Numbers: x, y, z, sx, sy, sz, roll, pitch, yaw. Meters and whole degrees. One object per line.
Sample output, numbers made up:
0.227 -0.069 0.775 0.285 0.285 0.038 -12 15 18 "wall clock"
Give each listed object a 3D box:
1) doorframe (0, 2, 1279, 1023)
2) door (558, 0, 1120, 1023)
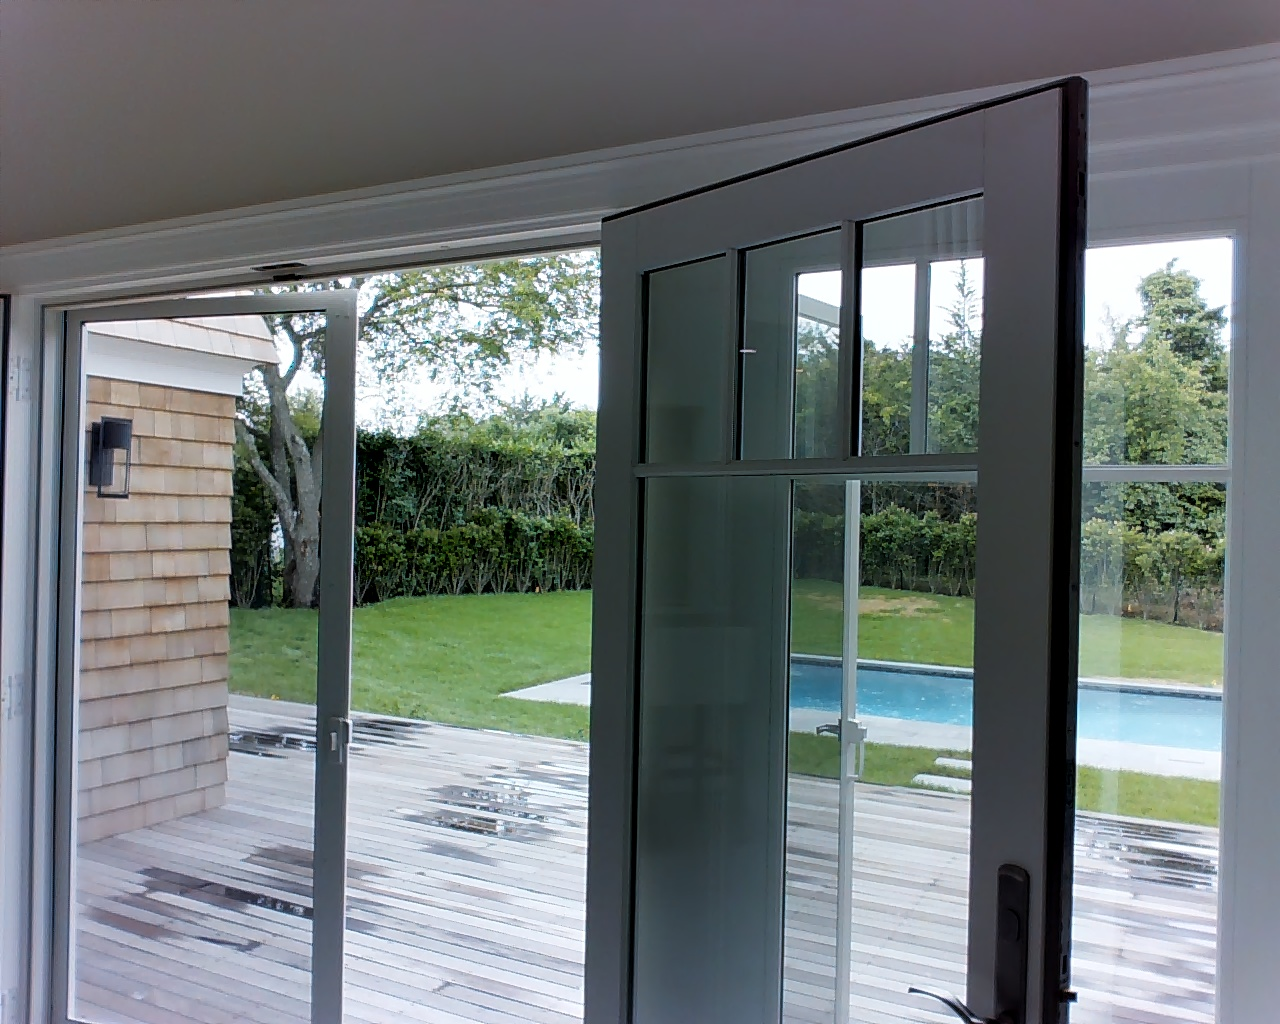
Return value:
-0.710 0.460 2.420 3.770 2.330 0.310 1 0 28 "doorframe"
0.200 0.480 1.550 0.080 2.120 0.910 1 0 -42 "door"
